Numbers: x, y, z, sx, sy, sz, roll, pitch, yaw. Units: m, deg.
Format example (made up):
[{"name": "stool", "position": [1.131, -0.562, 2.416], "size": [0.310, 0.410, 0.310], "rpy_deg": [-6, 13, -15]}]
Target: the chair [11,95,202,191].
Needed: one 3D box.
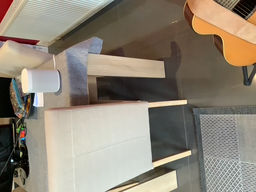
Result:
[{"name": "chair", "position": [-0.070, 0.220, 1.240], "size": [0.520, 0.970, 0.390], "rpy_deg": [-6, 87, 48]}]
